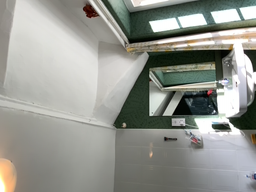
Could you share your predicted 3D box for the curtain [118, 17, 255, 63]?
[{"bbox_3d":[0.860,-0.570,2.120,0.270,1.950,0.190,32,-123,-66],"label":"curtain"}]
